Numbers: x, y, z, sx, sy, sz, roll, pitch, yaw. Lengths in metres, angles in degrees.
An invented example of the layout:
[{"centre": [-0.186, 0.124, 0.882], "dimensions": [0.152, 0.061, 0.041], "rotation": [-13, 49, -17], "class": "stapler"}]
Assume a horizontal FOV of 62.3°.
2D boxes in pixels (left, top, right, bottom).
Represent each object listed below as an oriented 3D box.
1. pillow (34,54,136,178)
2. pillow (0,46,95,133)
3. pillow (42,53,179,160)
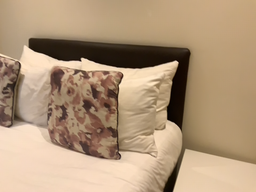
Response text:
[{"centre": [-0.220, 0.080, 0.980], "dimensions": [0.420, 0.420, 0.150], "rotation": [22, 27, 21], "class": "pillow"}, {"centre": [-0.660, -0.110, 1.500], "dimensions": [0.620, 0.380, 0.560], "rotation": [12, 23, 28], "class": "pillow"}, {"centre": [-0.090, 0.000, 1.210], "dimensions": [0.610, 0.380, 0.410], "rotation": [12, 23, 28], "class": "pillow"}]
